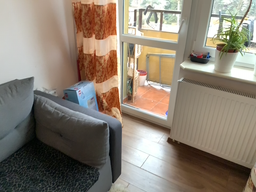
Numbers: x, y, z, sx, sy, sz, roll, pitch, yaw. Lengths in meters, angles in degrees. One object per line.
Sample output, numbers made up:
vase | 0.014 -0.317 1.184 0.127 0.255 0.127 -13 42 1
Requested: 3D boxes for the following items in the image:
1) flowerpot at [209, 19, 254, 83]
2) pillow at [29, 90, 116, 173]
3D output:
flowerpot | 0.820 -0.370 1.680 0.200 0.410 0.320 16 31 25
pillow | -0.400 0.230 1.530 0.620 0.360 0.190 18 32 27
